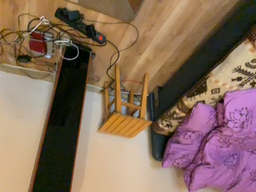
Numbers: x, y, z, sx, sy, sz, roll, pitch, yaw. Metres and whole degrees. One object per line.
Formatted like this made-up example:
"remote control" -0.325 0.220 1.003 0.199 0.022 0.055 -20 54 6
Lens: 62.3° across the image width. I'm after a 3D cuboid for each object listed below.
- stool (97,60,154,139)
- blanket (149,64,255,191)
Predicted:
"stool" -0.030 0.040 1.700 0.320 0.480 0.330 14 145 -20
"blanket" 0.710 0.360 1.420 0.780 0.520 0.900 12 145 -18
